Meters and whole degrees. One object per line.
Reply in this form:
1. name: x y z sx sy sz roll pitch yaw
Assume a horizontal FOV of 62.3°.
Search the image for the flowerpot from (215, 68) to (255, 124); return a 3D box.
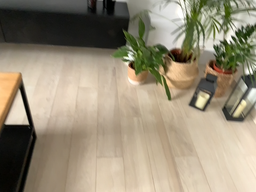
1. flowerpot: 0.890 0.000 1.660 0.200 0.320 0.290 2 42 -8
